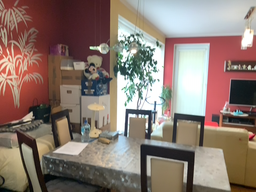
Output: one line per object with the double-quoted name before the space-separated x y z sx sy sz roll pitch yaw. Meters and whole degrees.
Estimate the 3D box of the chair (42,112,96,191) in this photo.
"chair" -0.620 0.700 2.300 0.350 0.970 0.440 4 7 21

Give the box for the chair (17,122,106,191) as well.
"chair" -0.540 0.770 1.740 0.540 0.970 0.440 -5 10 -40

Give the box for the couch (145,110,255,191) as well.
"couch" 1.130 0.740 3.310 1.490 0.750 0.960 4 8 22
